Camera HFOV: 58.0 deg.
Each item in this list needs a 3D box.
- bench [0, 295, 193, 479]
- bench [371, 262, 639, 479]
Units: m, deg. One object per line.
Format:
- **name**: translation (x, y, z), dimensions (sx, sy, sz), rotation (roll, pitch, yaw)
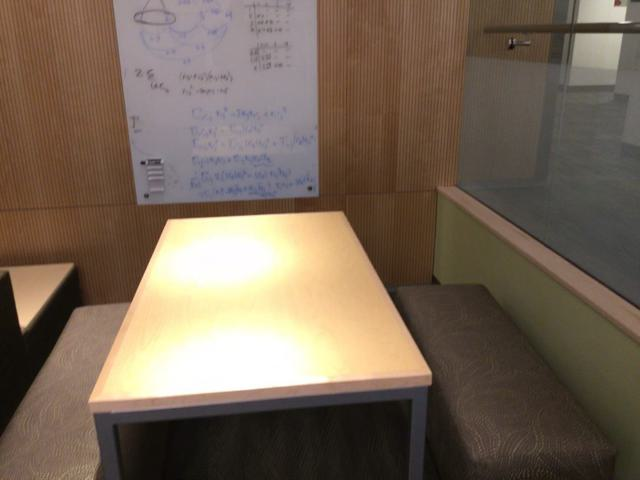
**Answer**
- **bench**: translation (-0.720, 0.600, 1.900), dimensions (0.530, 0.490, 1.050), rotation (0, 15, -16)
- **bench**: translation (0.560, 0.560, 2.060), dimensions (0.470, 0.550, 1.060), rotation (8, 19, -8)
